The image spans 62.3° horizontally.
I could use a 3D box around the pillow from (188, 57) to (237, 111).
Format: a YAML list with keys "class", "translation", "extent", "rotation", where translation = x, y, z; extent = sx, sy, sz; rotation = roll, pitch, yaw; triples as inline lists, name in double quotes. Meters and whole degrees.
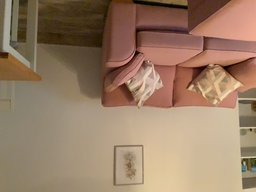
- class: "pillow"
  translation: [1.060, -0.150, 2.650]
  extent: [0.240, 0.520, 0.470]
  rotation: [-44, -133, -14]

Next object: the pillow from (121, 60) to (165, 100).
- class: "pillow"
  translation: [0.200, -0.170, 2.510]
  extent: [0.440, 0.470, 0.190]
  rotation: [-43, -99, 10]
